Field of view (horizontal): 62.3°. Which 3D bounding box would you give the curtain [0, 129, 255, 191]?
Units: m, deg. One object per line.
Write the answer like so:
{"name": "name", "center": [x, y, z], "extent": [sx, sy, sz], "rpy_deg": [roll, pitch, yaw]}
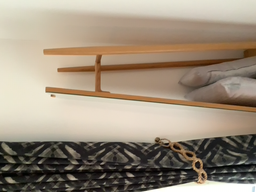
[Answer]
{"name": "curtain", "center": [0.000, 0.430, 1.250], "extent": [0.300, 2.490, 0.390], "rpy_deg": [171, 99, -78]}
